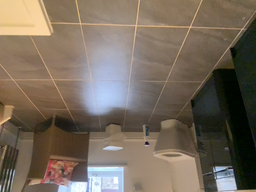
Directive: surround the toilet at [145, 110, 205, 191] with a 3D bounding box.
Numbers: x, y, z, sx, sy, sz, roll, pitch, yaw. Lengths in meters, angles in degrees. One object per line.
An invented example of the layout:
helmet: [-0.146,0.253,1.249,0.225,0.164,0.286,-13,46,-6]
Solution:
toilet: [0.540,0.690,2.450,0.340,0.850,0.640,-19,149,33]
